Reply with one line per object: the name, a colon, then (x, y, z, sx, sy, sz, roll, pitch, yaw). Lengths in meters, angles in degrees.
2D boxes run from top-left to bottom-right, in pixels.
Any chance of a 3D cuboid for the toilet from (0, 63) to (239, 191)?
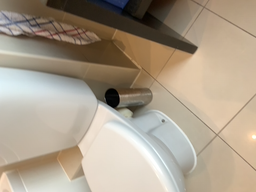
toilet: (-0.090, 0.260, 0.810, 0.670, 0.790, 0.400, 46, 118, 29)
